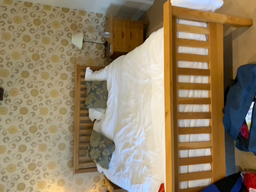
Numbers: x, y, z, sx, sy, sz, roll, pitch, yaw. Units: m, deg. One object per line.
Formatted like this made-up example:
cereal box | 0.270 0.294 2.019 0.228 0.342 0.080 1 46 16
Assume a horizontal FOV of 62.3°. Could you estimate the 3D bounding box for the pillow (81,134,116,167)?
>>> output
pillow | -0.380 0.700 2.780 0.210 0.370 0.340 6 90 39
